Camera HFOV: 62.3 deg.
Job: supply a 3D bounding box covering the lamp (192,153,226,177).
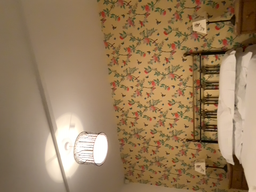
[{"bbox_3d":[1.230,1.060,3.270,0.210,0.470,0.230,-52,-41,-62],"label":"lamp"}]
